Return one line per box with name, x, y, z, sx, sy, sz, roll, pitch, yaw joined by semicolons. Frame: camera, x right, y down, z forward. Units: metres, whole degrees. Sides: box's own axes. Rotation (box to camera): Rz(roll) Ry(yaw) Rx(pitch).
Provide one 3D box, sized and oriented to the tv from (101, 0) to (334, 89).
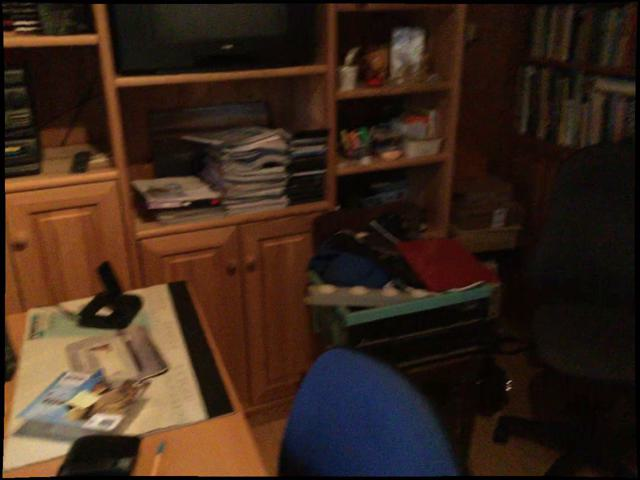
tv;-0.300;-0.741;1.720;0.659;0.490;0.210;-10;30;-22
